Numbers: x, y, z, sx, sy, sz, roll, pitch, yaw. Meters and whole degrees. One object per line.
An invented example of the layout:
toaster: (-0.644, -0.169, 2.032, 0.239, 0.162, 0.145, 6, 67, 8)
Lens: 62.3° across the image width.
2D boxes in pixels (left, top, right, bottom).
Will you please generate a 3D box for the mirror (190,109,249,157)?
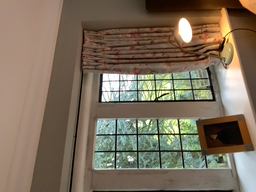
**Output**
mirror: (0.650, 0.270, 1.550, 0.130, 0.310, 0.260, 65, -168, -65)
